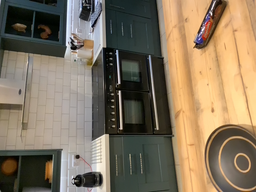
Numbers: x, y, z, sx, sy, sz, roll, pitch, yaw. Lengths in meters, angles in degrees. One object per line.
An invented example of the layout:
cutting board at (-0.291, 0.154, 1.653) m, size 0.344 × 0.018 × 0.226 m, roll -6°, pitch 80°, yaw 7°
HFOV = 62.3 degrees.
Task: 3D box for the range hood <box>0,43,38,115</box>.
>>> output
range hood at (-1.400, -0.200, 2.620) m, size 0.320 × 0.470 × 0.790 m, roll 144°, pitch 127°, yaw -61°
